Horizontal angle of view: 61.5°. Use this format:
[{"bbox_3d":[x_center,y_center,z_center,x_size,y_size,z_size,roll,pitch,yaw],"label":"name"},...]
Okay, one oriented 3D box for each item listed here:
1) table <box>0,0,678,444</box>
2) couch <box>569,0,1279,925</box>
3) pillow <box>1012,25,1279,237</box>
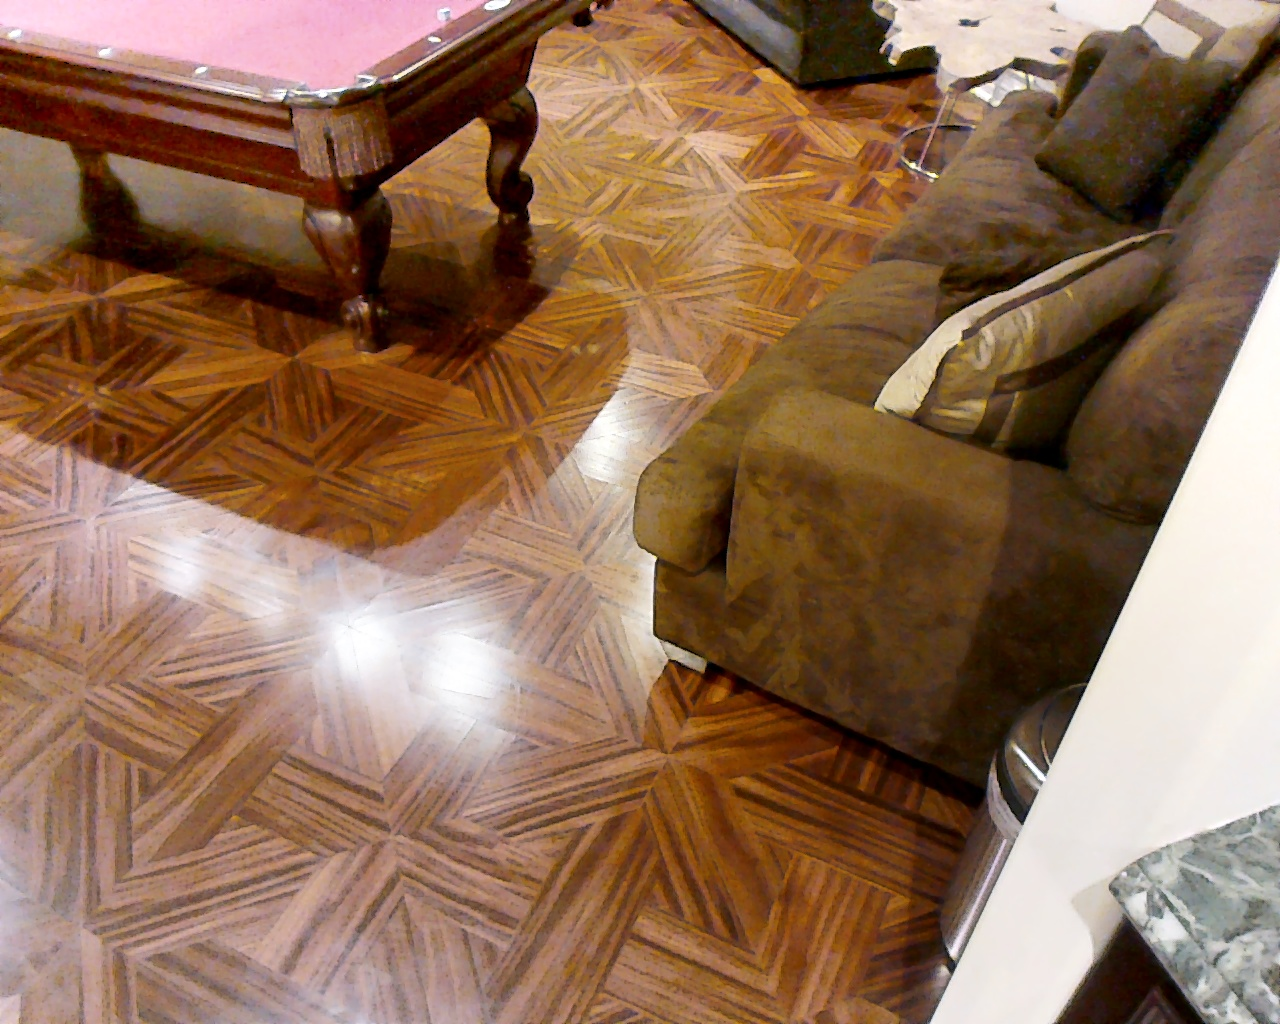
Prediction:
[{"bbox_3d":[-1.390,-1.300,3.310,2.640,0.830,1.450,18,45,18],"label":"table"},{"bbox_3d":[0.950,-0.510,2.360,1.000,0.940,2.320,24,47,24],"label":"couch"},{"bbox_3d":[1.210,-0.930,2.590,0.140,0.420,0.560,1,21,-28],"label":"pillow"}]
